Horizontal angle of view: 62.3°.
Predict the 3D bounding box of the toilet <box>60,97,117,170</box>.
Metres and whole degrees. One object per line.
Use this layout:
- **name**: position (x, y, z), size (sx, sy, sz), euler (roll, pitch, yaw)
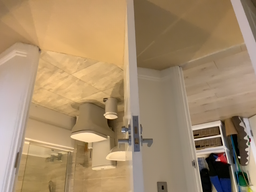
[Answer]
- **toilet**: position (-0.520, 0.550, 2.980), size (0.430, 0.840, 0.620), euler (-17, 151, 29)
